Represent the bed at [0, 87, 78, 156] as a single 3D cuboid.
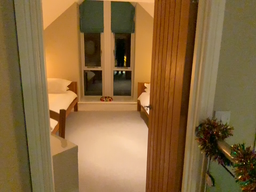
[{"bbox_3d":[-1.620,0.300,3.780,1.110,0.530,2.090,0,13,-5],"label":"bed"}]
